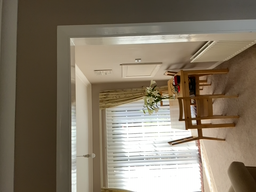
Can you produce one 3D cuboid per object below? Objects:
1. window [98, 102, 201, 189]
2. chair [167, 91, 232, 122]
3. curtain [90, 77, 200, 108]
[{"bbox_3d":[0.450,1.060,4.670,0.130,2.150,1.750,107,160,-83],"label":"window"},{"bbox_3d":[1.080,0.180,3.320,0.460,0.830,0.400,102,165,-81],"label":"chair"},{"bbox_3d":[0.380,-0.080,4.730,0.190,2.390,0.570,106,162,-83],"label":"curtain"}]
